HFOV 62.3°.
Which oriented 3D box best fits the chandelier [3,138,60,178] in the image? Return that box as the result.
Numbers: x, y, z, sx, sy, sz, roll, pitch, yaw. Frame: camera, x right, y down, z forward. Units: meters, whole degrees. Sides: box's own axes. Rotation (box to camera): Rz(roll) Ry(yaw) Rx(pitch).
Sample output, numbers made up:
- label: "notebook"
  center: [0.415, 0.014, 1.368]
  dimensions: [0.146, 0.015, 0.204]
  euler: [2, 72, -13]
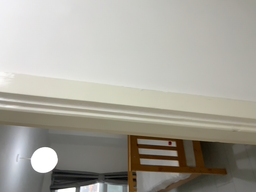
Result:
- label: "chandelier"
  center: [-1.140, 0.740, 2.550]
  dimensions: [0.310, 0.550, 0.320]
  euler: [-128, -134, -75]
